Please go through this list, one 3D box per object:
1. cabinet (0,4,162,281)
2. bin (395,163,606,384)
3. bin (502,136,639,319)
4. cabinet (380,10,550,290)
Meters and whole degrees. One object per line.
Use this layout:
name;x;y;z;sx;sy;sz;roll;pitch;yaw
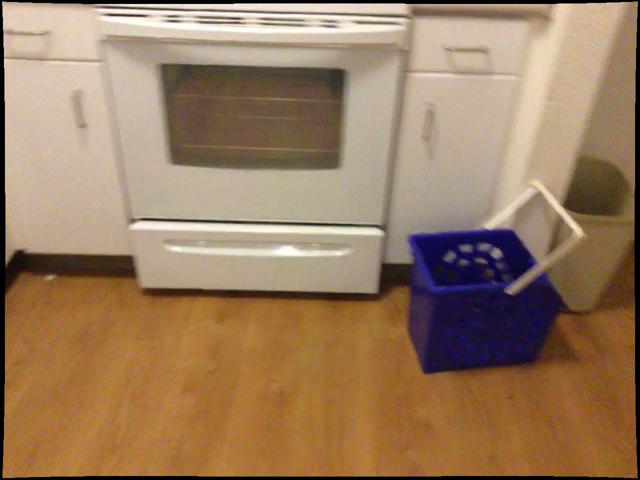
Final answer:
cabinet;-0.769;-0.240;1.690;0.470;0.831;0.100;2;36;2
bin;0.450;0.090;1.610;0.420;0.480;0.360;2;36;2
bin;0.809;-0.050;1.850;0.290;0.400;0.430;2;36;2
cabinet;0.370;-0.210;1.640;0.340;0.811;0.110;2;36;2
